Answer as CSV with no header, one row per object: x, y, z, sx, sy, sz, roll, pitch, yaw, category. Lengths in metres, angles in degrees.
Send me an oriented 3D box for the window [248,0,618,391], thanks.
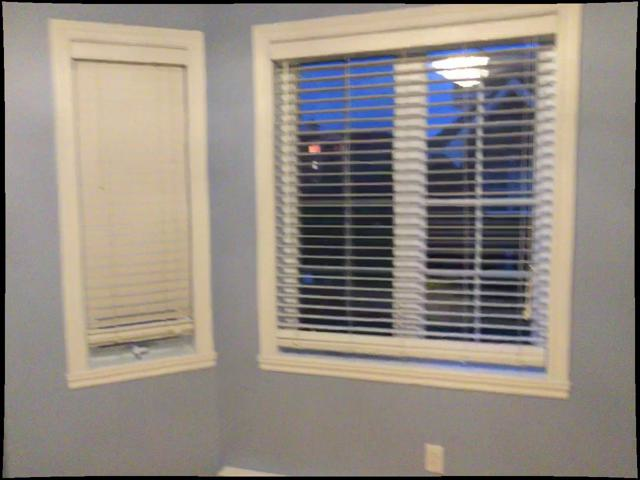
0.390,-0.180,2.300,1.349,1.381,0.210,2,9,21,window

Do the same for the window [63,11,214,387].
-0.769,-0.150,2.470,0.580,1.471,0.190,-1,6,-24,window
